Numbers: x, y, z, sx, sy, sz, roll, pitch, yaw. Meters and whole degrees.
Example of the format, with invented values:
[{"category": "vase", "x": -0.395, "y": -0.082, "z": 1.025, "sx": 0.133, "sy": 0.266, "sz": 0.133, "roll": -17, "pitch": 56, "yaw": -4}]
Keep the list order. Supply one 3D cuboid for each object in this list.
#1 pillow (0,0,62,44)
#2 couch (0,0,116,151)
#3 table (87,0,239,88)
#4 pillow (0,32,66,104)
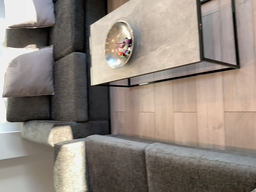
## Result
[{"category": "pillow", "x": -1.070, "y": -0.960, "z": 2.290, "sx": 0.220, "sy": 0.520, "sz": 0.540, "roll": -18, "pitch": 43, "yaw": 32}, {"category": "couch", "x": -0.830, "y": -0.640, "z": 2.370, "sx": 1.150, "sy": 0.830, "sz": 2.190, "roll": -4, "pitch": 85, "yaw": 49}, {"category": "table", "x": 0.160, "y": -0.370, "z": 1.530, "sx": 1.010, "sy": 0.440, "sz": 0.500, "roll": -7, "pitch": 84, "yaw": 48}, {"category": "pillow", "x": -1.050, "y": -0.280, "z": 2.270, "sx": 0.200, "sy": 0.510, "sz": 0.550, "roll": 2, "pitch": 62, "yaw": 47}]
